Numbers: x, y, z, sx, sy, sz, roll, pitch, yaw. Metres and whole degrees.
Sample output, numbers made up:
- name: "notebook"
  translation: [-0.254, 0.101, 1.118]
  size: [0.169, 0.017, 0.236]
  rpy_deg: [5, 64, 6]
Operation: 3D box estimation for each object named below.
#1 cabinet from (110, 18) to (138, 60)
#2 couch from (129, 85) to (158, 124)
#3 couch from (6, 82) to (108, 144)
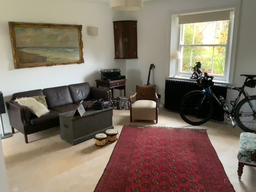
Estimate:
- name: "cabinet"
  translation: [-0.100, -1.470, 5.520]
  size: [0.680, 1.020, 0.350]
  rpy_deg: [0, 14, -1]
- name: "couch"
  translation: [0.340, 0.160, 4.560]
  size: [0.570, 0.680, 0.670]
  rpy_deg: [1, 13, 6]
- name: "couch"
  translation: [-1.340, 0.220, 4.300]
  size: [0.870, 0.740, 1.720]
  rpy_deg: [13, 18, 43]
